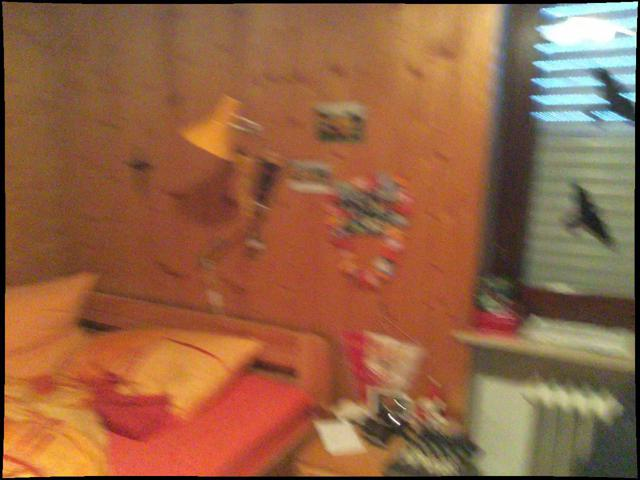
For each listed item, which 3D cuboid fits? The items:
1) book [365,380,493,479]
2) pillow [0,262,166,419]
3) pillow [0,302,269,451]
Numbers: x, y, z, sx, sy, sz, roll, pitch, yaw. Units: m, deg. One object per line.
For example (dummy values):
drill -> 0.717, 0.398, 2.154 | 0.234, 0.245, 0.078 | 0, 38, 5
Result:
book -> 0.330, 0.571, 1.700 | 0.250, 0.130, 0.380 | 7, 13, 30
pillow -> -1.099, 0.350, 2.330 | 0.640, 0.320, 0.650 | 7, 13, 30
pillow -> -0.669, 0.440, 2.100 | 0.749, 0.160, 0.610 | 7, 13, 30
